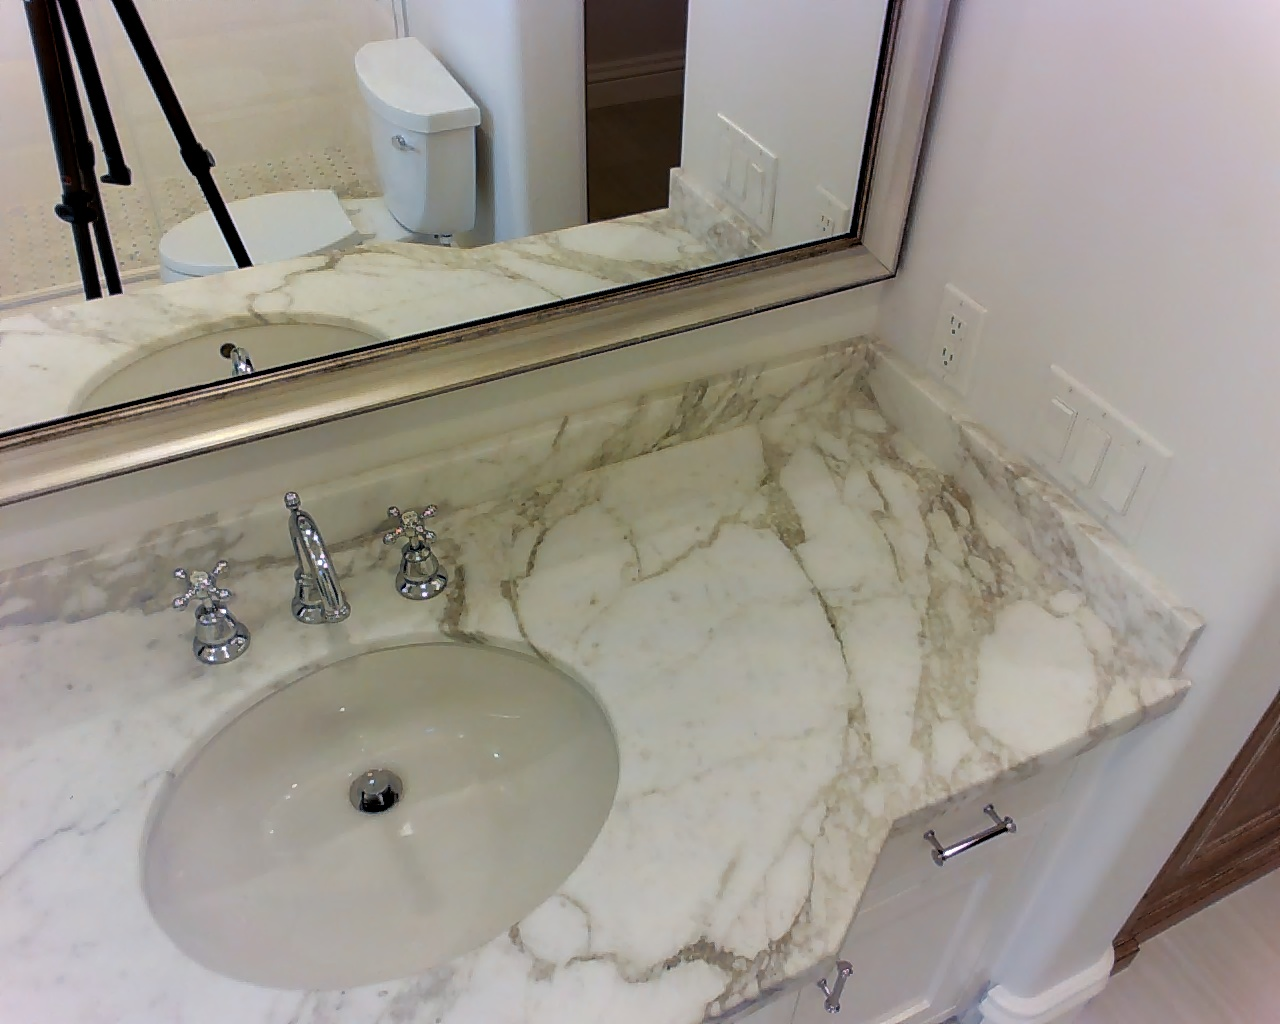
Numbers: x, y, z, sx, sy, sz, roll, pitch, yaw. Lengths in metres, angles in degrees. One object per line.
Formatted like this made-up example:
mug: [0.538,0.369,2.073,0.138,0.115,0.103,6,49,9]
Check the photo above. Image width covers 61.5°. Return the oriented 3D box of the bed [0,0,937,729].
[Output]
bed: [-0.820,-0.930,3.320,2.470,1.450,1.930,-18,46,-19]

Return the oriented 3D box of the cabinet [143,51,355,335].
cabinet: [-1.470,-1.210,4.100,0.500,0.830,0.500,-17,46,-18]
